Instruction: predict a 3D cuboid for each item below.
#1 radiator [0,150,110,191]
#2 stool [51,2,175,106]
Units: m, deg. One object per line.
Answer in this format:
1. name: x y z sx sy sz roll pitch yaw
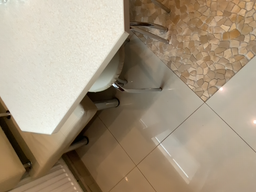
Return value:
1. radiator: -0.420 0.630 1.190 0.130 0.740 0.450 -47 71 24
2. stool: -0.040 -0.180 1.080 0.310 0.510 0.280 -44 72 25
